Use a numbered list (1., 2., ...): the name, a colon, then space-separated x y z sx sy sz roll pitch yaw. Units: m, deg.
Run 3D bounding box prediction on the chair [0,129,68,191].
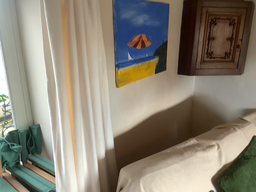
1. chair: -0.650 0.720 1.450 0.590 0.850 0.150 14 23 33
